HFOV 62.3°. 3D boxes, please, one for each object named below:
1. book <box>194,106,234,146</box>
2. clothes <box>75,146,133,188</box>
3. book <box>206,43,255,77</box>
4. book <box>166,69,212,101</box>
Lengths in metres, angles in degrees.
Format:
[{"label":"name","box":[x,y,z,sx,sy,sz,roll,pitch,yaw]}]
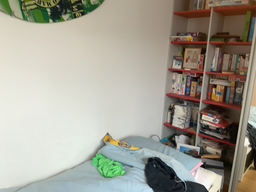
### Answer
[{"label":"book","box":[1.070,0.360,2.640,0.320,0.350,0.340,14,16,40]},{"label":"clothes","box":[-0.210,0.580,1.800,0.430,0.090,0.270,14,16,40]},{"label":"book","box":[1.230,-0.440,2.540,0.410,0.350,0.330,14,16,40]},{"label":"book","box":[0.800,-0.160,2.820,0.500,0.340,0.220,12,15,36]}]
